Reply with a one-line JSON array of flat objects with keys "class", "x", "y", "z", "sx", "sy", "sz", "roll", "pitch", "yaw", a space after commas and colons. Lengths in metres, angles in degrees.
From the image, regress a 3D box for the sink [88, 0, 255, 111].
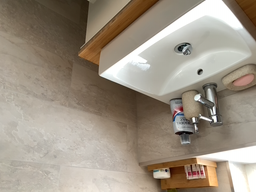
[{"class": "sink", "x": 0.190, "y": -0.130, "z": 0.750, "sx": 0.460, "sy": 0.130, "sz": 0.470, "roll": 21, "pitch": 147, "yaw": -38}]
